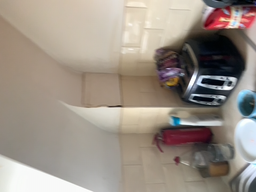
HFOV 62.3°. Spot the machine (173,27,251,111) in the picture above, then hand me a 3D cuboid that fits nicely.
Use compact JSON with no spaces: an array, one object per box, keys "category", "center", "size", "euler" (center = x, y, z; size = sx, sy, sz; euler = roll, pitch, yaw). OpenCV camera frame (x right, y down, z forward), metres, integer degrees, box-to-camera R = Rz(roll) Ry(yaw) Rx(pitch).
[{"category":"machine","center":[0.380,-0.130,1.050],"size":[0.300,0.180,0.280],"euler":[98,168,-46]}]
